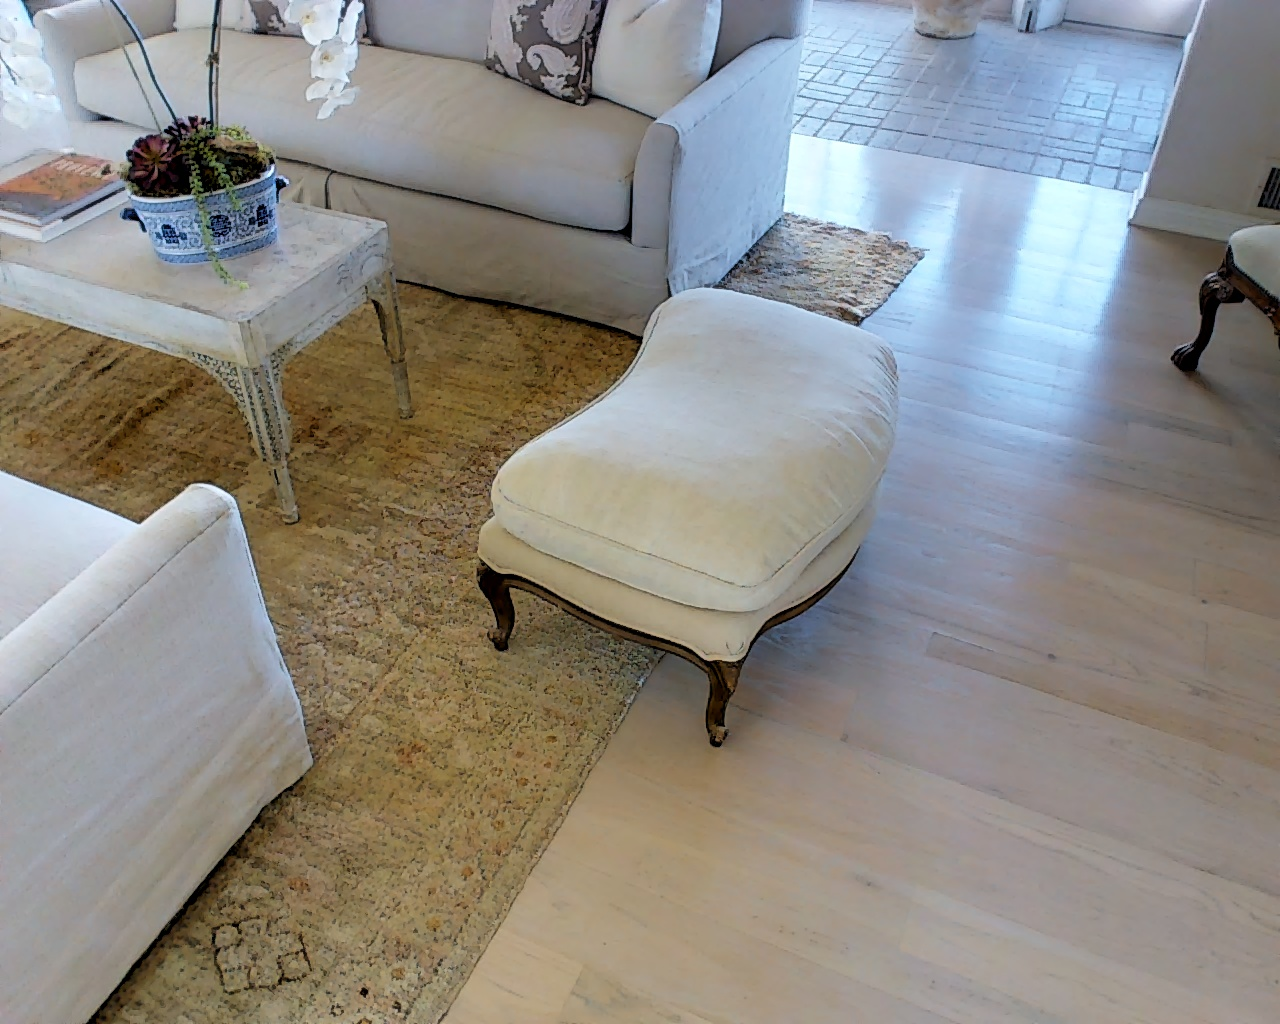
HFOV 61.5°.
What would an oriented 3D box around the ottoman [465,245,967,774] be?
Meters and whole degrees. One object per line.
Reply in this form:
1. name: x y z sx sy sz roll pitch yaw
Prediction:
1. ottoman: 0.190 -0.070 2.190 0.670 0.490 0.900 17 42 18
